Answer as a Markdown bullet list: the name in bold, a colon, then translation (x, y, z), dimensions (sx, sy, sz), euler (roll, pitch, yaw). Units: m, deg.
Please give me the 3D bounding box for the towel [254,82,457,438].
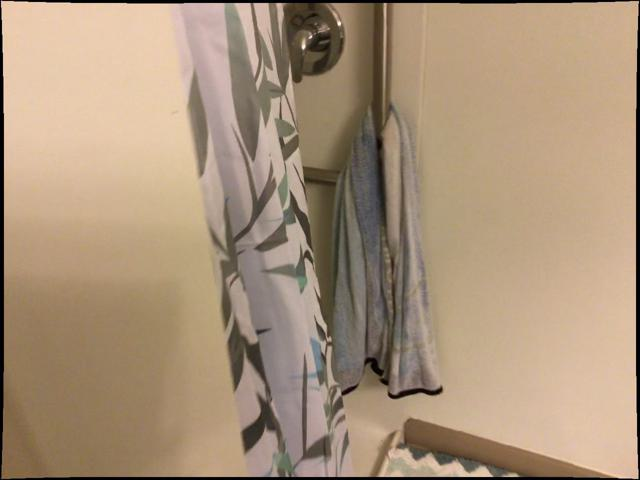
- **towel**: translation (0.110, 0.070, 1.420), dimensions (0.379, 0.851, 0.190), euler (10, 34, 24)
